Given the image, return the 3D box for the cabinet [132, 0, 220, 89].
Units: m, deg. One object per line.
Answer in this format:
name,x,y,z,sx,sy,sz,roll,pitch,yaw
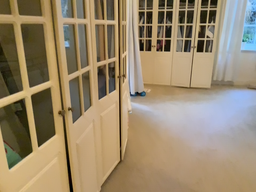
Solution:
cabinet,0.880,-1.330,4.140,1.540,2.210,0.490,6,19,17
